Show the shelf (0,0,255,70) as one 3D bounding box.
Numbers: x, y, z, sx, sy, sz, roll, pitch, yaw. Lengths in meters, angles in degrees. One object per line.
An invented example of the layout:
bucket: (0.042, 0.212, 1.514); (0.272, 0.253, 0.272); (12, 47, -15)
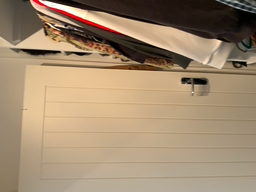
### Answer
shelf: (0.210, -0.390, 1.340); (0.240, 2.400, 0.330); (172, 101, -82)
